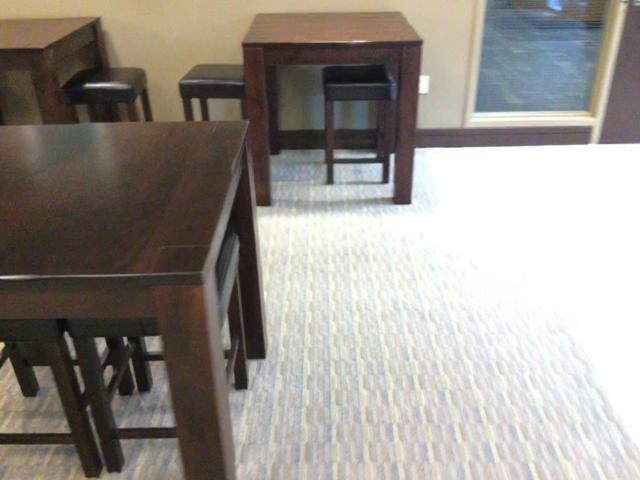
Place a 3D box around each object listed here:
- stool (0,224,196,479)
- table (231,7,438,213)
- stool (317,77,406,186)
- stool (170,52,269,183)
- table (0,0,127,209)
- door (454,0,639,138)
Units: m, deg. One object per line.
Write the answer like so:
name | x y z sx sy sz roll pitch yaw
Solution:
stool | -0.740 0.340 1.770 0.580 0.650 0.430 0 29 -1
table | 0.060 -0.810 3.440 1.000 0.950 0.980 0 29 -1
stool | 0.230 -0.680 3.580 0.490 0.530 0.510 0 29 -1
stool | -0.600 -0.790 3.660 0.490 0.660 0.610 0 29 -1
table | -1.800 -0.840 3.370 0.930 1.000 0.960 0 29 -1
door | 1.460 -1.630 3.470 1.010 2.010 0.330 0 29 -1
